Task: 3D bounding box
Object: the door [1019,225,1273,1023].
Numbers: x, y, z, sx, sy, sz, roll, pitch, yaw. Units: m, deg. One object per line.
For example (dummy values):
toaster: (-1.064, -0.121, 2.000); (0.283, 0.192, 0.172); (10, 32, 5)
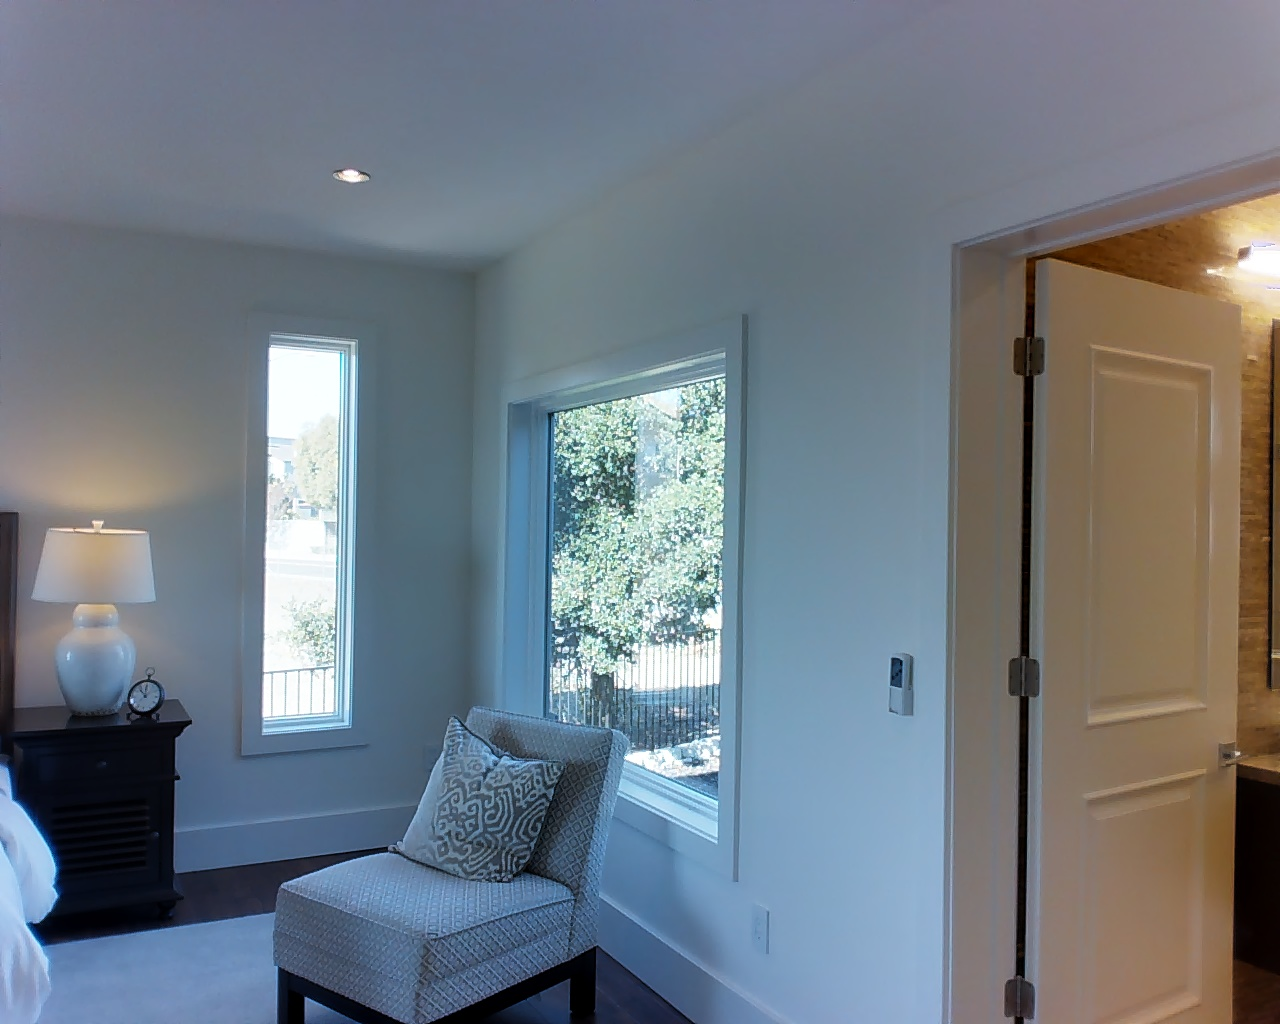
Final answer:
door: (1.310, 0.460, 2.730); (0.900, 2.210, 0.110); (1, -1, -33)
